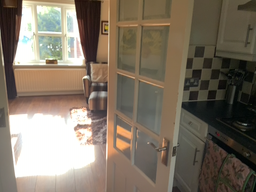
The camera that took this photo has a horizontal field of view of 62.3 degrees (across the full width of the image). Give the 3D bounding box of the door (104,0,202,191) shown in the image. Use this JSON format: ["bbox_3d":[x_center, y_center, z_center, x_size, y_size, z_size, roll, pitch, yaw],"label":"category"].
[{"bbox_3d":[0.050,0.180,1.410,0.120,1.920,0.810,-5,18,-26],"label":"door"}]
